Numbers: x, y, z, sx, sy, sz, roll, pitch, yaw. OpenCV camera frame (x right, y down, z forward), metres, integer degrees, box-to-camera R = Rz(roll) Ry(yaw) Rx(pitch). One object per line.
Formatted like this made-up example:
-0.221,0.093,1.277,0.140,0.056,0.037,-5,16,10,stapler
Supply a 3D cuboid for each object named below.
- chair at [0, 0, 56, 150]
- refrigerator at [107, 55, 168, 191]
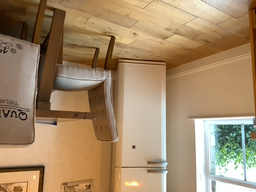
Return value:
-0.830,-0.180,1.350,0.430,0.960,0.660,8,169,-40,chair
0.100,0.420,2.690,0.630,1.710,0.600,3,171,-9,refrigerator
